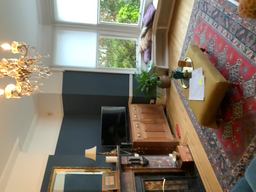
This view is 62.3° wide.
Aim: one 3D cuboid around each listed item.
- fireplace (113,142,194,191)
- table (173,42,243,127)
[{"bbox_3d":[0.420,1.610,3.370,1.970,1.240,0.310,-98,13,-53],"label":"fireplace"},{"bbox_3d":[1.010,-0.210,2.950,1.120,0.350,0.650,-98,13,-53],"label":"table"}]
